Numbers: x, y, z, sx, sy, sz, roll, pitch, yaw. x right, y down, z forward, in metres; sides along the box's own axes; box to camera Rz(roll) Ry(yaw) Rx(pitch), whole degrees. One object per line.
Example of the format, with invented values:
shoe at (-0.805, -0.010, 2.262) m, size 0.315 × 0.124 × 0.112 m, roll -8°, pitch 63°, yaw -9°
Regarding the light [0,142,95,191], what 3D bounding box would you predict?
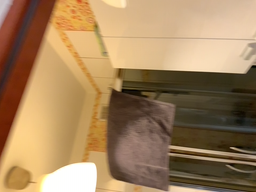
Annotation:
light at (-0.450, 0.490, 1.160) m, size 0.410 × 0.350 × 0.300 m, roll 5°, pitch 2°, yaw 33°
